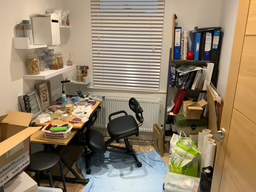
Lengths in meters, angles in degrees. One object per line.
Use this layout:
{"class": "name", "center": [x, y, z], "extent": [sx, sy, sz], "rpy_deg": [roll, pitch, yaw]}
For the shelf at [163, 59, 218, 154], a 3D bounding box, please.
{"class": "shelf", "center": [0.790, 0.140, 2.820], "extent": [0.560, 1.210, 0.280], "rpy_deg": [4, 17, 9]}
